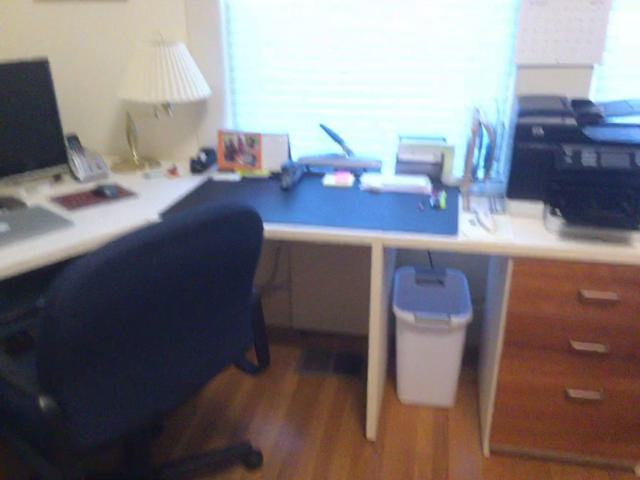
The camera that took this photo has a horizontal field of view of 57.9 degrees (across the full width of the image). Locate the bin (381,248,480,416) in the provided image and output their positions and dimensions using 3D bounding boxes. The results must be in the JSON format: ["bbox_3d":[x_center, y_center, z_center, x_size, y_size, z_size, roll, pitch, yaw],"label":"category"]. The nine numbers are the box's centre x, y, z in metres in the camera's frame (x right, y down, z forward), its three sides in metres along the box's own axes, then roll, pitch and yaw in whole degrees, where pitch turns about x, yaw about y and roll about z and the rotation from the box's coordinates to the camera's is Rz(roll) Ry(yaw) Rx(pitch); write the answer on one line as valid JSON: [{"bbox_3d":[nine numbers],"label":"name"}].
[{"bbox_3d":[0.390,0.310,2.080,0.280,0.390,0.450,5,24,9],"label":"bin"}]

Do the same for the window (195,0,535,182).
[{"bbox_3d":[0.130,-0.950,1.810,1.080,1.490,0.120,5,24,9],"label":"window"}]

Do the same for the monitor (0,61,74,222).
[{"bbox_3d":[-1.010,-0.260,1.630,0.200,0.410,0.500,18,29,33],"label":"monitor"}]

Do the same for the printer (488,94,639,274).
[{"bbox_3d":[0.780,-0.180,1.630,0.510,0.350,0.500,5,24,9],"label":"printer"}]
